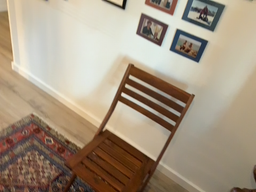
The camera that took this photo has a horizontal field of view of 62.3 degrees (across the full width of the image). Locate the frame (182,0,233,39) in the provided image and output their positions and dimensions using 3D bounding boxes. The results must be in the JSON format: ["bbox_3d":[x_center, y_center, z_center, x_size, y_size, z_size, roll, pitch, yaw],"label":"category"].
[{"bbox_3d":[0.390,-0.400,1.060,0.190,0.150,0.030,34,40,21],"label":"frame"}]
